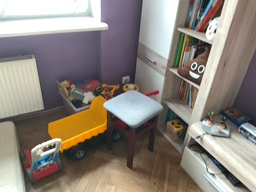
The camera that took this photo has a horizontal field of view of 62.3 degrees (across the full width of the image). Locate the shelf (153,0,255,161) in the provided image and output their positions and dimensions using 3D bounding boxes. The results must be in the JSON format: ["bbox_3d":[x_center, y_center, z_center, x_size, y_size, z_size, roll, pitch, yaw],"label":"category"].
[{"bbox_3d":[0.560,-0.170,1.610,0.370,1.300,0.450,-14,37,-26],"label":"shelf"}]
